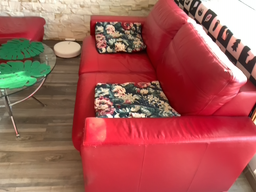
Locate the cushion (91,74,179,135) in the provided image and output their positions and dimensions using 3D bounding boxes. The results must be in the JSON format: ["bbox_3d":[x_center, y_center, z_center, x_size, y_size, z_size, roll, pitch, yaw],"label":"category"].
[{"bbox_3d":[0.010,0.030,1.350,0.480,0.100,0.450,-1,39,-9],"label":"cushion"}]

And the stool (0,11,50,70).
[{"bbox_3d":[-1.450,-0.670,2.480,0.840,0.420,0.650,2,39,-5],"label":"stool"}]
